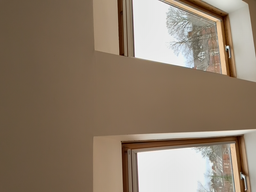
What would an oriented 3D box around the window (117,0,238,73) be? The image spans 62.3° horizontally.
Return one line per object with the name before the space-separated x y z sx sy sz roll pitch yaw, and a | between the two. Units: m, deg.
window | 0.490 -0.570 1.780 0.100 1.310 0.680 -14 80 53
